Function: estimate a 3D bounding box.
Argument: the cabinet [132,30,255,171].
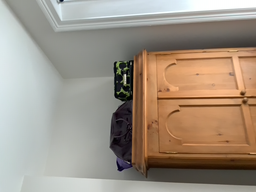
[{"bbox_3d":[1.100,0.070,1.860,0.650,2.020,1.070,72,-160,-66],"label":"cabinet"}]
